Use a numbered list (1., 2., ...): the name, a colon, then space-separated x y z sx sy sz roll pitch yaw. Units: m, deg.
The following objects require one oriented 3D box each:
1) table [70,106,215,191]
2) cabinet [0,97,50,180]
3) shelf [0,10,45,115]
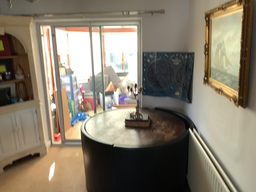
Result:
1. table: 0.160 0.680 2.640 1.310 0.760 1.300 0 14 4
2. cabinet: -1.620 0.560 3.080 0.560 0.900 0.830 0 14 4
3. shelf: -1.640 -0.450 2.830 0.560 1.190 0.850 0 14 4
